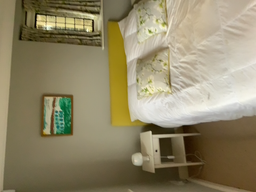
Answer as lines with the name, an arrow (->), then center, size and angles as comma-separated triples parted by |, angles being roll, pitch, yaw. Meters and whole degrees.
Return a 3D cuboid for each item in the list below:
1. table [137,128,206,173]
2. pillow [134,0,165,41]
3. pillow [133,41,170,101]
table -> 0.530, 0.680, 2.730 | 0.460, 0.700, 0.470 | 142, 126, -70
pillow -> 0.230, -0.920, 2.370 | 0.370, 0.200, 0.480 | 154, 115, -72
pillow -> 0.230, -0.240, 2.270 | 0.430, 0.220, 0.540 | 153, 116, -72
